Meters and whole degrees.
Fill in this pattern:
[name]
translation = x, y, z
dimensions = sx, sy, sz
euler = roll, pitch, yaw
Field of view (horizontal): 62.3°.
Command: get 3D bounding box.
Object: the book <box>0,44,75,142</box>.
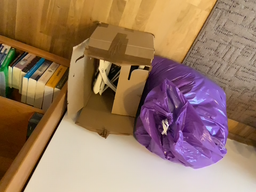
[book]
translation = -0.530, -0.010, 1.180
dimensions = 0.330, 0.240, 0.400
euler = 19, 123, -8

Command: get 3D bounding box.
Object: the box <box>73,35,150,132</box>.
[box]
translation = -0.080, -0.080, 1.170
dimensions = 0.300, 0.360, 0.330
euler = 17, 123, -6
